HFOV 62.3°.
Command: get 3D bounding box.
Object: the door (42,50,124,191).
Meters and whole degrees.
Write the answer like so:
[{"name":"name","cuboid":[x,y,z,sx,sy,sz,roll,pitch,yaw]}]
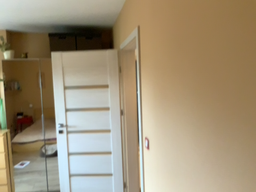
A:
[{"name":"door","cuboid":[-0.530,0.470,2.720,0.890,2.020,0.320,-2,5,-4]}]
